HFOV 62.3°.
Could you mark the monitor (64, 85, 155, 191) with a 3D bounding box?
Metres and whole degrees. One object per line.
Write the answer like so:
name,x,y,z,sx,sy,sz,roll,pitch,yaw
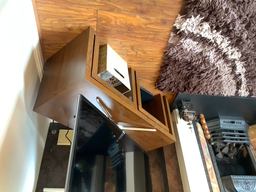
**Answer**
monitor,-0.030,0.430,1.280,0.040,0.590,0.930,-18,140,20
